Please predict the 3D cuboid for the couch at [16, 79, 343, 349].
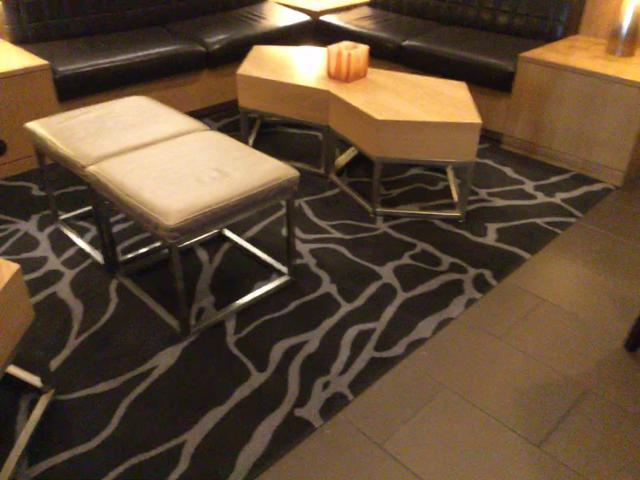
[{"bbox_3d":[-0.530,-0.190,2.160,0.670,0.470,1.050,-29,40,-34],"label":"couch"}]
